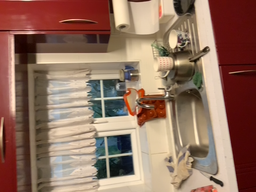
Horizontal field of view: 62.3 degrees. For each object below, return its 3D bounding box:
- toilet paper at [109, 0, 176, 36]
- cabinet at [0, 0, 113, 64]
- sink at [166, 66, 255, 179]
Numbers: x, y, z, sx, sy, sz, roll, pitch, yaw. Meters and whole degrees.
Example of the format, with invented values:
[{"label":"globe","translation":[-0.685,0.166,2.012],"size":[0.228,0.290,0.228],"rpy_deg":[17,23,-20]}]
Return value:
[{"label":"toilet paper","translation":[0.080,-0.550,1.450],"size":[0.280,0.380,0.180],"rpy_deg":[148,118,-76]},{"label":"cabinet","translation":[-0.590,-0.460,1.460],"size":[0.530,0.880,0.300],"rpy_deg":[138,127,-74]},{"label":"sink","translation":[0.460,0.160,1.320],"size":[0.520,0.200,0.550],"rpy_deg":[142,124,-75]}]
